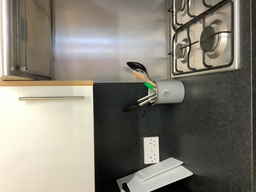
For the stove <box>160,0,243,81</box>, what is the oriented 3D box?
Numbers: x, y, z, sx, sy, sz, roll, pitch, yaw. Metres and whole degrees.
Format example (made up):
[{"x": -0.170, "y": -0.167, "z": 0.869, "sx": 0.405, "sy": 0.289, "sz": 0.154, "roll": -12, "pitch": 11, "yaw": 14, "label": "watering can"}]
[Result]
[{"x": 0.270, "y": -0.380, "z": 0.940, "sx": 0.590, "sy": 0.030, "sz": 0.590, "roll": -177, "pitch": 85, "yaw": -77, "label": "stove"}]

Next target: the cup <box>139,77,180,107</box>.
[{"x": 0.160, "y": -0.020, "z": 1.110, "sx": 0.190, "sy": 0.150, "sz": 0.140, "roll": -175, "pitch": 83, "yaw": -77, "label": "cup"}]
